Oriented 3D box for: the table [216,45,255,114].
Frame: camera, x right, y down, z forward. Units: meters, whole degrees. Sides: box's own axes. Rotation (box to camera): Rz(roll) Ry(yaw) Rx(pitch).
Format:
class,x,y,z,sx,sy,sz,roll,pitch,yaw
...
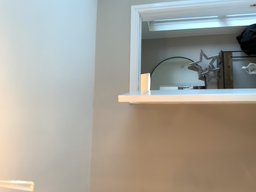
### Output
class,x,y,z,sx,sy,sz,roll,pitch,yaw
table,1.950,-0.250,3.440,0.290,0.910,1.070,32,-121,-78
